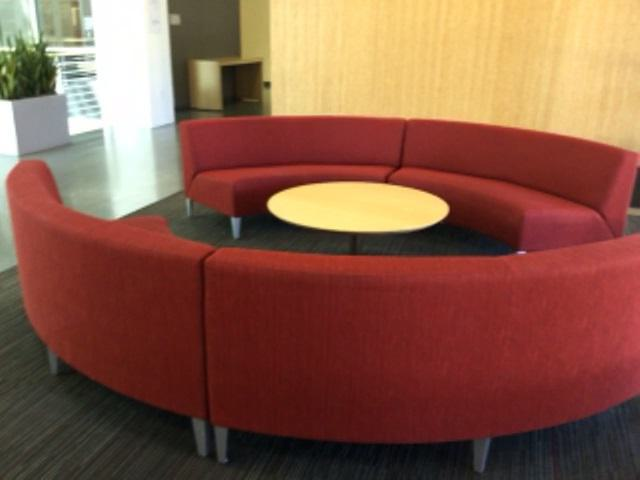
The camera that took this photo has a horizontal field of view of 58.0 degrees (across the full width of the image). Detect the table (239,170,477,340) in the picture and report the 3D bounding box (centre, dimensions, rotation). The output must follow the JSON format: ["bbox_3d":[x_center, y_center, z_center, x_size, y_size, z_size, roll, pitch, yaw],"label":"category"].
[{"bbox_3d":[0.280,0.010,3.440,1.060,0.530,1.040,7,25,26],"label":"table"}]
